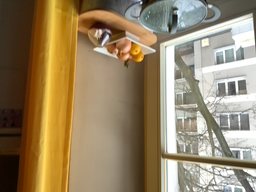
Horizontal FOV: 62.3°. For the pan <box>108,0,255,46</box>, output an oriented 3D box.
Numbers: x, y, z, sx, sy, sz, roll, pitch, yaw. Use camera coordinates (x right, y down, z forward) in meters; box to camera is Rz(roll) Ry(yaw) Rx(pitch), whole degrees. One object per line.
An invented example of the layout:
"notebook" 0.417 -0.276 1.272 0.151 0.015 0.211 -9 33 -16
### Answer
"pan" 0.160 -0.340 0.650 0.370 0.220 0.250 -7 168 43
